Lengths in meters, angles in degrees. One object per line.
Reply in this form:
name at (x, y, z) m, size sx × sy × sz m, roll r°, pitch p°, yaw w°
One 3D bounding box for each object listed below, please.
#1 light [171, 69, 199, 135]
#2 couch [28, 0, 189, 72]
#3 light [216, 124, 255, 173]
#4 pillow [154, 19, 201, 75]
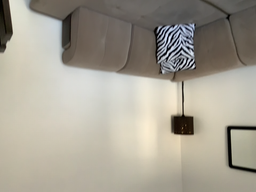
light at (0.770, 0.090, 2.860) m, size 0.270 × 0.830 × 0.310 m, roll -4°, pitch 174°, yaw 31°
couch at (-0.220, -0.760, 1.690) m, size 0.840 × 0.890 × 1.030 m, roll 3°, pitch 174°, yaw -36°
light at (1.500, 0.490, 1.800) m, size 0.070 × 0.460 × 1.530 m, roll 3°, pitch 173°, yaw -38°
pillow at (0.520, -0.520, 2.270) m, size 0.360 × 0.470 × 0.190 m, roll -15°, pitch 159°, yaw 7°
